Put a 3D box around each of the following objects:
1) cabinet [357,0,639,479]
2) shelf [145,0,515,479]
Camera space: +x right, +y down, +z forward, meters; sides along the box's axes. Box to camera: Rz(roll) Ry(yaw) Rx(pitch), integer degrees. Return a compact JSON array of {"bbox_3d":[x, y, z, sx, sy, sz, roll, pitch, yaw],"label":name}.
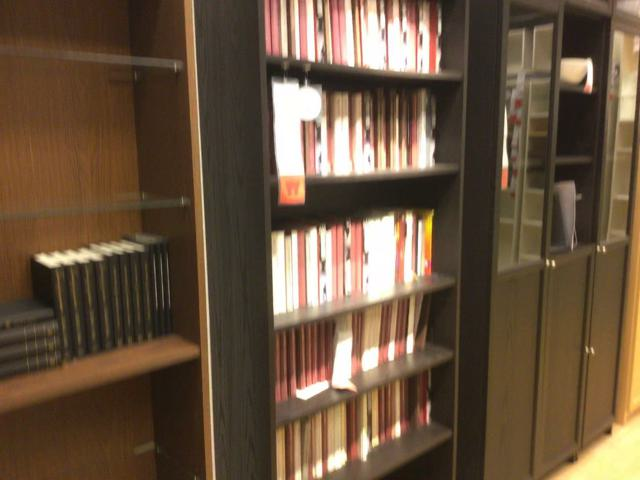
[{"bbox_3d":[1.010,-0.150,2.430,1.480,2.320,0.710,-8,5,-39],"label":"cabinet"},{"bbox_3d":[0.080,0.160,1.800,0.890,1.990,0.590,-8,8,-39],"label":"shelf"}]
